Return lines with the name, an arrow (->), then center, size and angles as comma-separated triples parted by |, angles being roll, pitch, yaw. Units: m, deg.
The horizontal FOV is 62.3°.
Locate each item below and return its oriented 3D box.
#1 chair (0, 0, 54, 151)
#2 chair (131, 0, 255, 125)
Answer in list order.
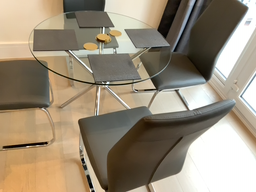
chair -> -0.800, -0.150, 1.320 | 0.560, 1.030, 0.470 | -4, 45, -16
chair -> 0.430, -0.290, 1.760 | 0.550, 1.020, 0.480 | -3, 45, -16
